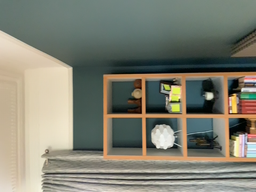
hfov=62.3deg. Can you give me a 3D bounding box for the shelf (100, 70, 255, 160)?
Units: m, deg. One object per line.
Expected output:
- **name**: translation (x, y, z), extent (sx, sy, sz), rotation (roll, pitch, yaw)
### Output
- **shelf**: translation (0.760, 0.200, 2.390), extent (0.420, 2.100, 0.910), rotation (30, -121, -85)
